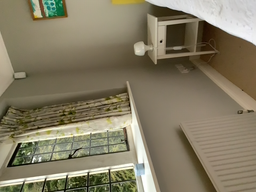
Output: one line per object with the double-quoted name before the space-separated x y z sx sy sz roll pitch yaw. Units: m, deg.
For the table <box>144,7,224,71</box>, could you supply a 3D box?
"table" 0.570 -0.650 2.360 0.490 0.690 0.530 -106 10 -60
